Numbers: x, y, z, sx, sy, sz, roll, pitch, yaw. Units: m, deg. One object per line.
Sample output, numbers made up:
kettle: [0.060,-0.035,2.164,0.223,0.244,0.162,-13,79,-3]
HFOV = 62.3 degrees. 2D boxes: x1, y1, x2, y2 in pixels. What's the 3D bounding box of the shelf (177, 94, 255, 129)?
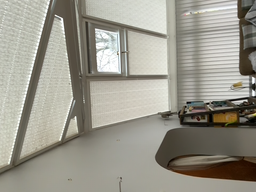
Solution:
shelf: [1.650,0.220,3.550,1.260,1.530,0.390,-12,-80,-73]
